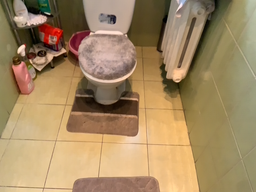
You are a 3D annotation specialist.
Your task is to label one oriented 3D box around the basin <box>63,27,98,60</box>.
[{"bbox_3d":[-0.430,-0.490,1.970,0.260,0.170,0.240,7,49,1],"label":"basin"}]
